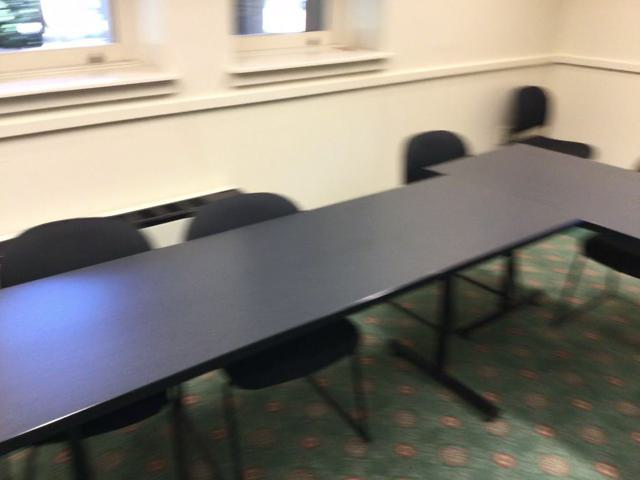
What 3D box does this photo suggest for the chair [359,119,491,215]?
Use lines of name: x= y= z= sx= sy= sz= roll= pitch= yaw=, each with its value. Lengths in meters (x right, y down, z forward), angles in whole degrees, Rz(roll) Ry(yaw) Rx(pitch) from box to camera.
chair: x=0.470 y=-0.340 z=2.570 sx=0.560 sy=0.280 sz=0.240 roll=-18 pitch=27 yaw=-32

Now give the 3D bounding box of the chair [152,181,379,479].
chair: x=-0.170 y=0.300 z=1.810 sx=0.470 sy=0.780 sz=0.580 roll=-13 pitch=25 yaw=-24

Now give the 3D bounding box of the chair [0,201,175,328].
chair: x=-0.700 y=0.050 z=1.670 sx=0.460 sy=0.170 sz=0.260 roll=-18 pitch=27 yaw=-32
